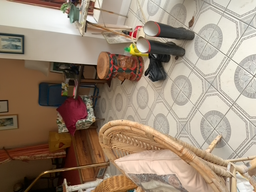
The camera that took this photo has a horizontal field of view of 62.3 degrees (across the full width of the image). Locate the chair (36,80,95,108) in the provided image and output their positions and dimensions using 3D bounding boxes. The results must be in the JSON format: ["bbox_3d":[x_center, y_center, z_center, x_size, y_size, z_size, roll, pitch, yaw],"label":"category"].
[{"bbox_3d":[-0.990,-0.020,3.360,0.100,0.840,0.450,60,140,44],"label":"chair"}]

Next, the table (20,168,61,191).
[{"bbox_3d":[-1.840,1.960,4.410,0.540,0.710,0.610,60,140,44],"label":"table"}]

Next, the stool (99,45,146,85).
[{"bbox_3d":[-0.070,-0.310,2.160,0.280,0.340,0.280,58,138,45],"label":"stool"}]
